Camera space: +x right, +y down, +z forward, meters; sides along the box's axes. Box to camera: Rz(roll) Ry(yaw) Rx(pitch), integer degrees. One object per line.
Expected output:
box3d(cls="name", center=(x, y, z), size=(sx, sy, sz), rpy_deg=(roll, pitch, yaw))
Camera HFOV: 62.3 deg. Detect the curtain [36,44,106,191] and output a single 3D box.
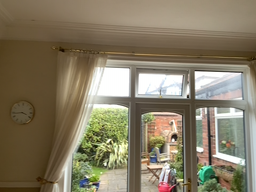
box3d(cls="curtain", center=(-0.620, 0.650, 2.360), size=(0.650, 2.430, 0.210), rpy_deg=(2, -7, -5))
